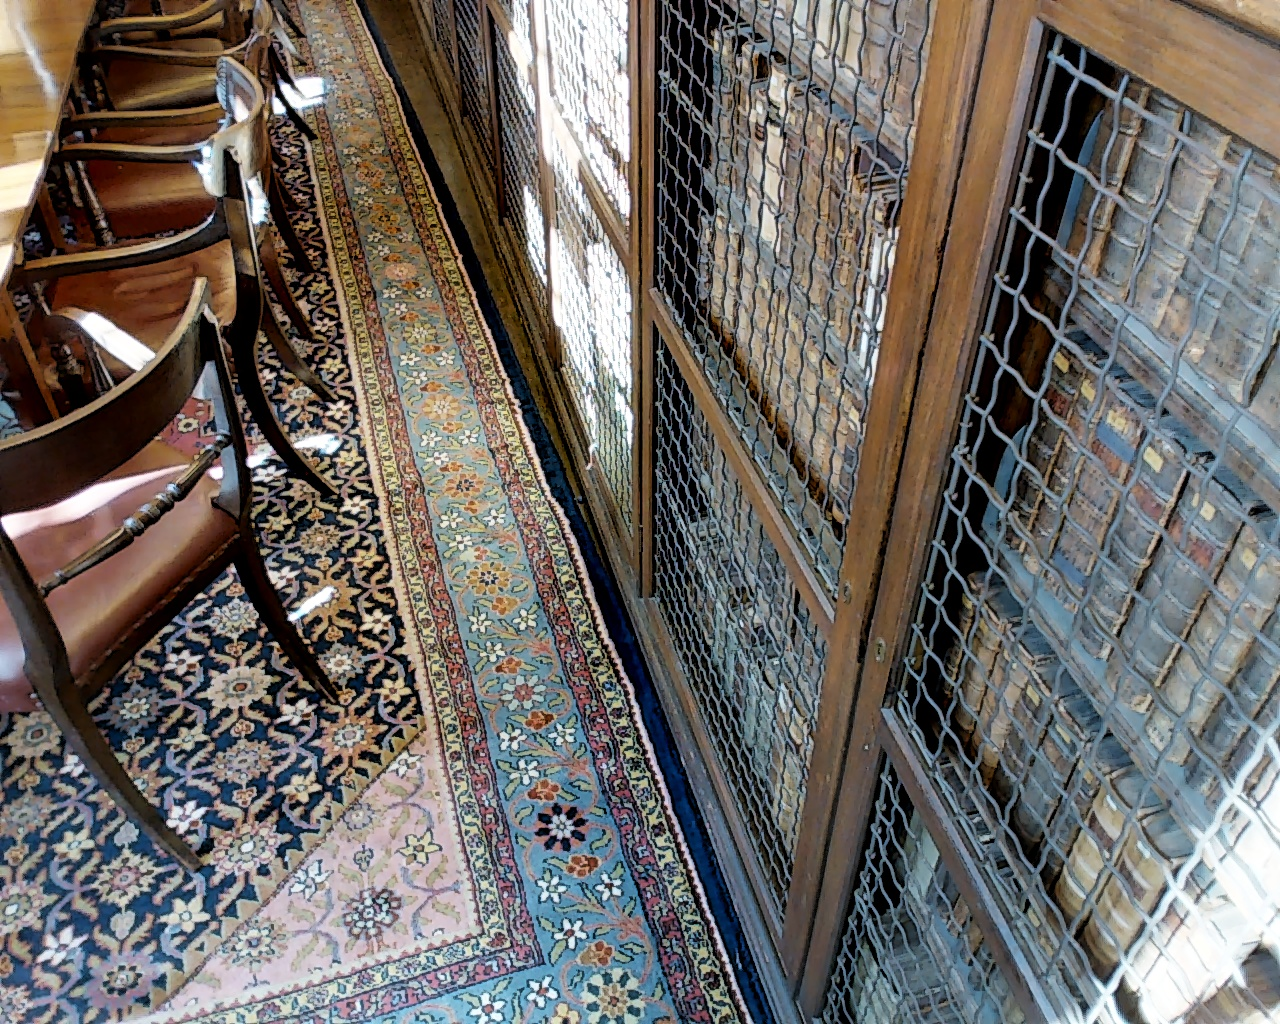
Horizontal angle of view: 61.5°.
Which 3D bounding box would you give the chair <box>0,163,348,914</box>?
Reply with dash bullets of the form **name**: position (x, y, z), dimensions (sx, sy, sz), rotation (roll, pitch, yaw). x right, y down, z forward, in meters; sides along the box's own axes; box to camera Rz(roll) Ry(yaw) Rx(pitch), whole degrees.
- **chair**: position (-0.970, 0.030, 1.710), dimensions (0.570, 0.910, 0.620), rotation (17, 44, 19)
